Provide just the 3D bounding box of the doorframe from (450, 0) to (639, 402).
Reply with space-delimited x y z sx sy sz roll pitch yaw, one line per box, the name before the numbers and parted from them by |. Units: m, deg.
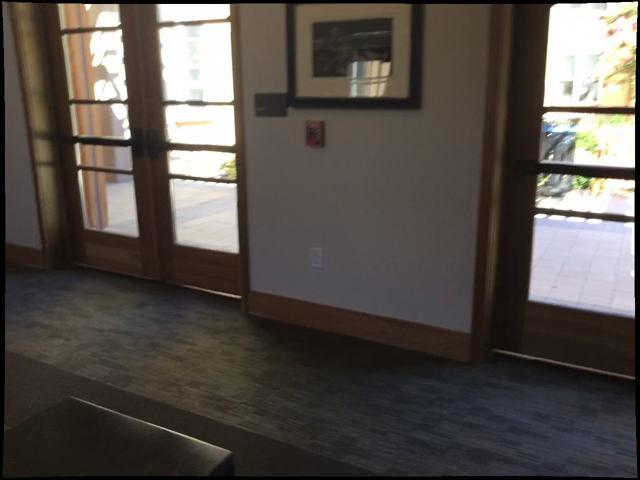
doorframe | 1.598 -0.170 2.290 1.968 1.732 0.460 9 22 26
